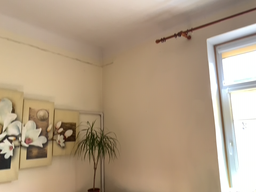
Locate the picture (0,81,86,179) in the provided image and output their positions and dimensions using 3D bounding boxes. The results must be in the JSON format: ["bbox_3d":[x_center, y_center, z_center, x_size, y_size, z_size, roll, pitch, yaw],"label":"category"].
[{"bbox_3d":[-1.400,0.370,2.360,0.250,1.020,2.300,-8,-12,34],"label":"picture"}]
